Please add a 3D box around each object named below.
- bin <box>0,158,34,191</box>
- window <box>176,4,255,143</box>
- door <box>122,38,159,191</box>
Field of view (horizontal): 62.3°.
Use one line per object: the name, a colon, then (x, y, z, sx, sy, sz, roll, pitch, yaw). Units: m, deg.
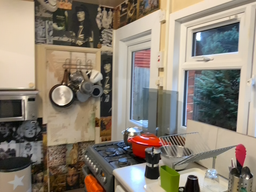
bin: (-1.210, 1.020, 2.260, 0.340, 0.560, 0.320, -2, 7, -31)
window: (0.740, -0.140, 1.350, 0.040, 0.820, 1.170, -2, 7, -29)
door: (0.120, 0.300, 2.580, 0.050, 1.870, 0.710, -2, 7, -26)
